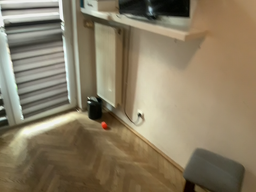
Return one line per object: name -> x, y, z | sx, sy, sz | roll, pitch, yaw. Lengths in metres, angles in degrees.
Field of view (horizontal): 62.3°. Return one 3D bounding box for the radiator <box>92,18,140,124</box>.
radiator -> -0.170, -0.280, 2.490 | 0.500, 1.120, 0.210 | 28, 36, 36
